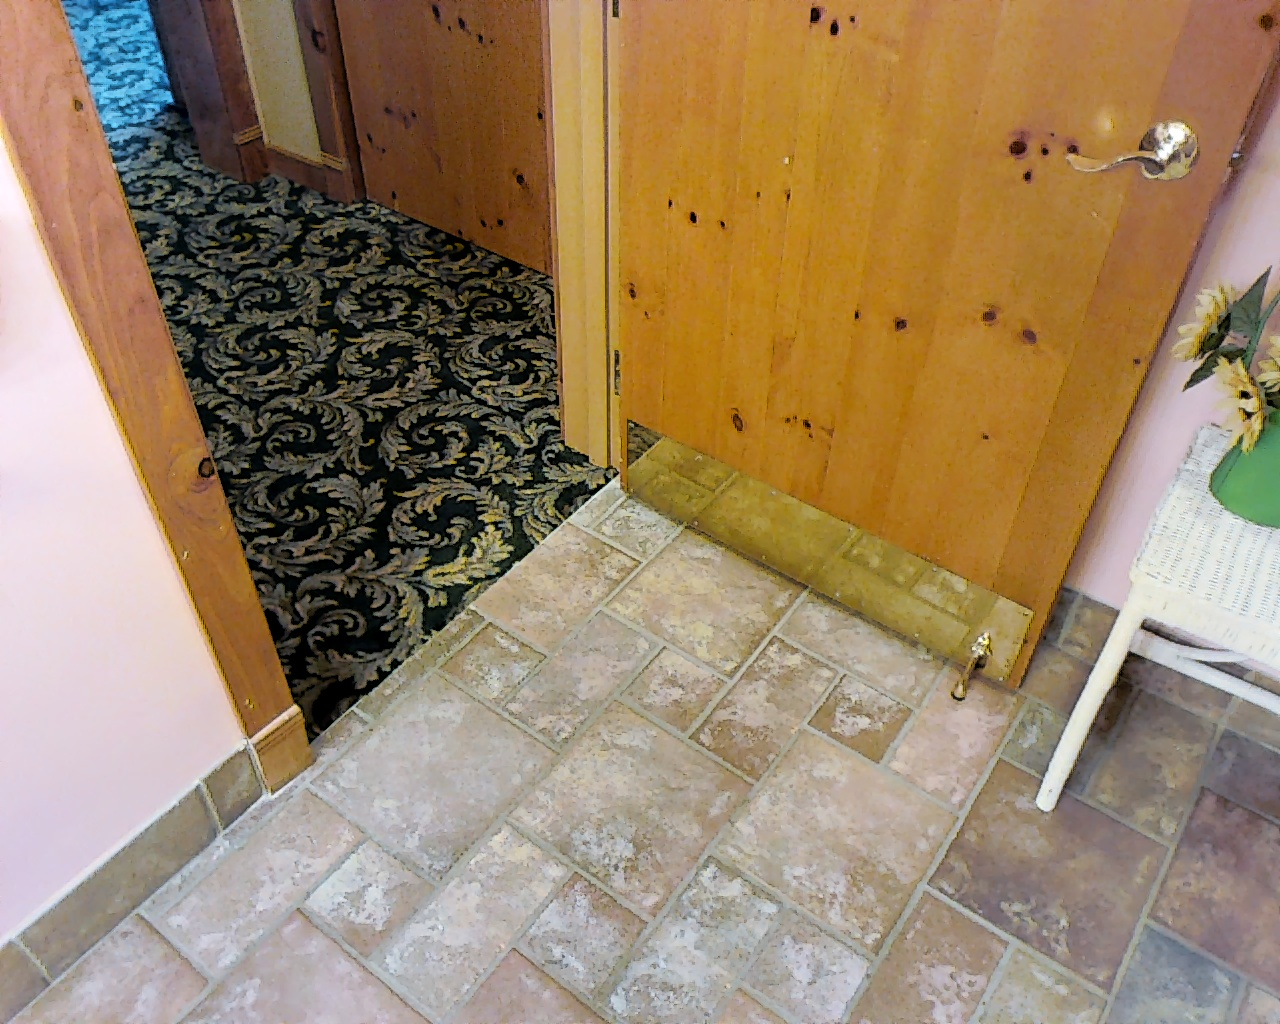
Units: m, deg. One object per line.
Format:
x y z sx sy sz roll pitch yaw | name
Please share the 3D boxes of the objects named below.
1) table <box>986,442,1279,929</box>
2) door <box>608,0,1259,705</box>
0.890 0.290 1.550 0.590 0.590 0.210 25 48 23 | table
0.340 -0.610 1.490 0.820 2.060 0.180 27 49 24 | door
